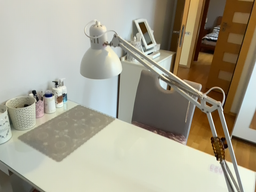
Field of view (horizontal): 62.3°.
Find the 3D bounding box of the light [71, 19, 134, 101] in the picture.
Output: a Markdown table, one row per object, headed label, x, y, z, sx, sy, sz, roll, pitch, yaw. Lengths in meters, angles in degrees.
| label | x | y | z | sx | sy | sz | roll | pitch | yaw |
| --- | --- | --- | --- | --- | --- | --- | --- | --- | --- |
| light | -0.090 | -0.150 | 0.840 | 0.200 | 0.140 | 0.250 | -39 | 140 | -48 |
